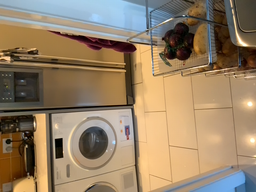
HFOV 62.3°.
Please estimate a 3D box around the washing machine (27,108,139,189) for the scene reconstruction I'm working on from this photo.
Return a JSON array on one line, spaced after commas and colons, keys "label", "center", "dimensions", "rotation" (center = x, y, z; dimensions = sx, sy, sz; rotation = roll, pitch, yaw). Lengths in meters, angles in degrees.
[{"label": "washing machine", "center": [-0.490, 0.470, 2.250], "dimensions": [0.710, 0.920, 0.600], "rotation": [-11, 82, 55]}]
